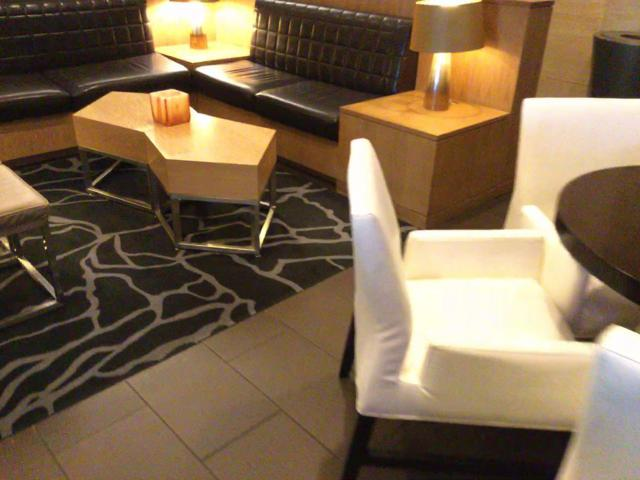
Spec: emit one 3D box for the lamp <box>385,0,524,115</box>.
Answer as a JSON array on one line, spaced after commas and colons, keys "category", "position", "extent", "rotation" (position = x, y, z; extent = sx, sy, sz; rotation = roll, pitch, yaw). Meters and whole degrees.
[{"category": "lamp", "position": [0.690, -1.010, 3.010], "extent": [0.460, 0.550, 0.460], "rotation": [-23, 37, -39]}]
